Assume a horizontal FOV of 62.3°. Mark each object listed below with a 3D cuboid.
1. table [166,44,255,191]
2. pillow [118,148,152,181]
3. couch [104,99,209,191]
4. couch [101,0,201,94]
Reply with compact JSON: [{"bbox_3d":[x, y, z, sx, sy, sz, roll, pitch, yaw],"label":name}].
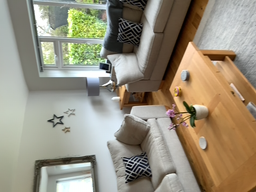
[{"bbox_3d":[0.820,0.170,1.780,1.190,0.460,0.640,-106,21,-43],"label":"table"},{"bbox_3d":[0.100,1.000,3.100,0.190,0.410,0.340,84,173,-50],"label":"pillow"},{"bbox_3d":[0.320,1.230,2.880,1.050,0.930,2.250,105,158,-45],"label":"couch"},{"bbox_3d":[0.220,-1.150,3.050,2.150,0.910,1.030,105,158,-46],"label":"couch"}]
